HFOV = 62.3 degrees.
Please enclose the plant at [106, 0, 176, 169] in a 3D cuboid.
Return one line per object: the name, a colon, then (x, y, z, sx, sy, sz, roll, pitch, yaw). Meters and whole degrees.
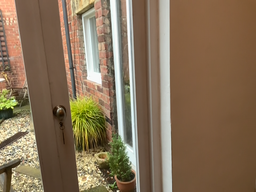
plant: (0.160, -0.120, 2.380, 0.480, 1.650, 0.550, -11, 15, -33)
